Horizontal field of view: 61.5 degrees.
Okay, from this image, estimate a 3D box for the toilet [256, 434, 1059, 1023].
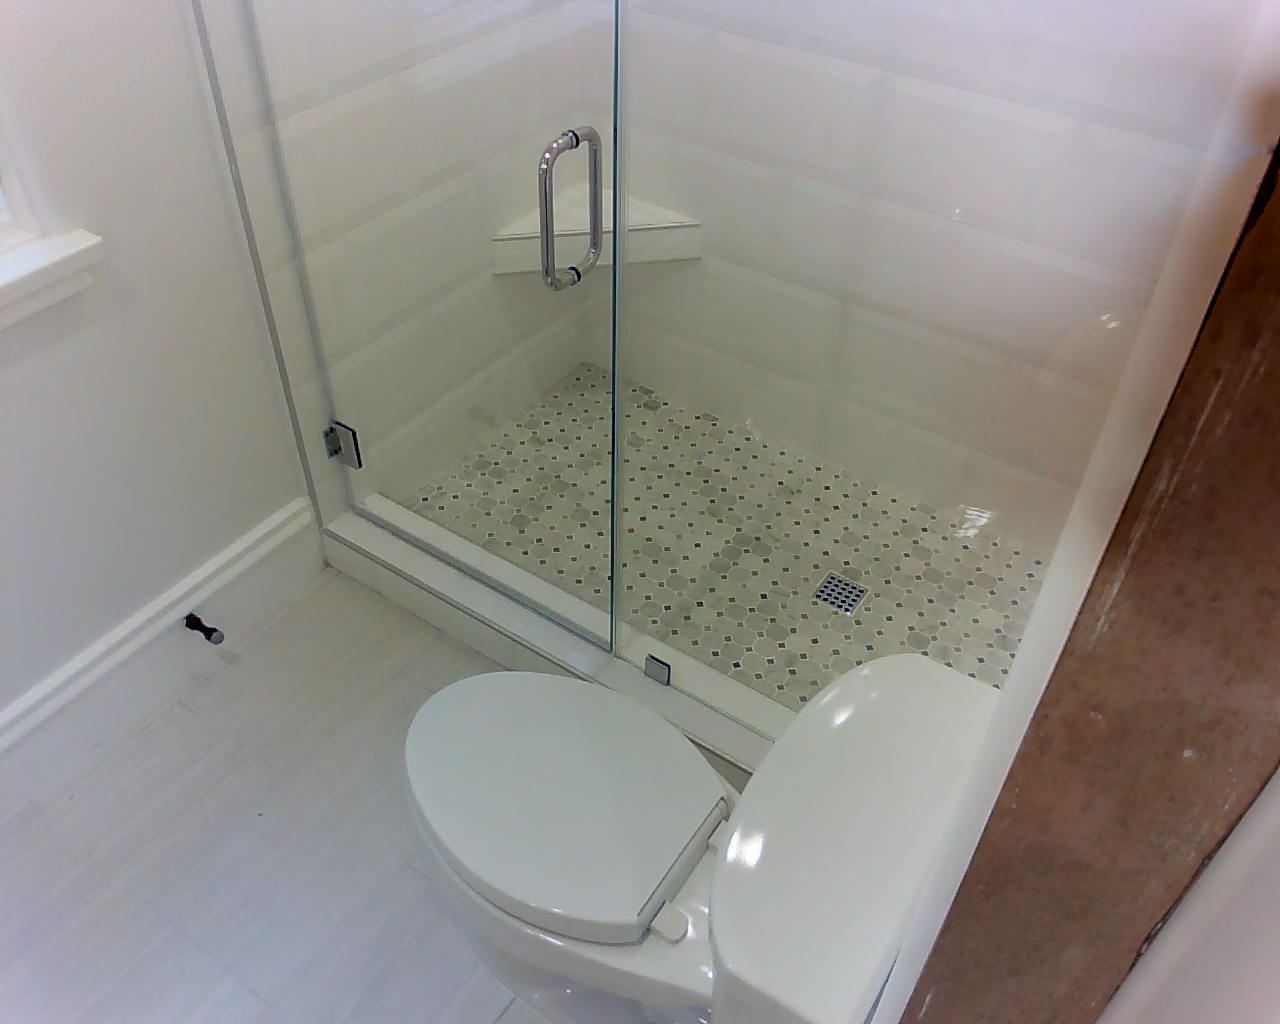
[{"bbox_3d":[0.010,0.450,1.480,0.780,0.750,0.480,25,48,24],"label":"toilet"}]
